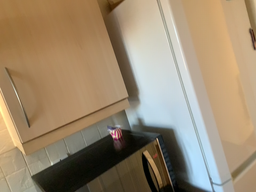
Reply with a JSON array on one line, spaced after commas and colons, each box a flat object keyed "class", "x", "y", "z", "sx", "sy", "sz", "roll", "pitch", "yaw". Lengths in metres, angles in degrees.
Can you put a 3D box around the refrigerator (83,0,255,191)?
[{"class": "refrigerator", "x": 0.430, "y": 0.330, "z": 1.260, "sx": 0.590, "sy": 1.810, "sz": 0.660, "roll": -24, "pitch": 10, "yaw": -34}]
